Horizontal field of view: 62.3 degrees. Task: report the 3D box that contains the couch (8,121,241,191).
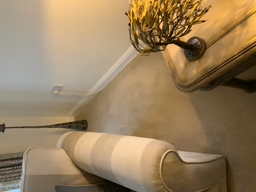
[{"bbox_3d":[-0.080,0.750,1.270,1.090,0.930,1.110,-5,84,49],"label":"couch"}]
